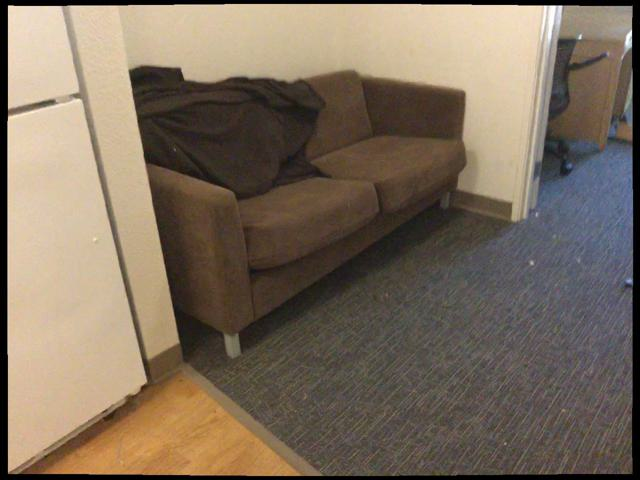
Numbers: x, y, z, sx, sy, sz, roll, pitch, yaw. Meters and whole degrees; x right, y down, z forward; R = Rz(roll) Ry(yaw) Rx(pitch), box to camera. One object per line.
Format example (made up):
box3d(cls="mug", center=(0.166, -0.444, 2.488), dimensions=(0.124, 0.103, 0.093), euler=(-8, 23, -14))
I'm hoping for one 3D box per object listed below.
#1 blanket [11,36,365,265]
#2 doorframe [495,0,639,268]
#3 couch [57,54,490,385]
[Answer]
box3d(cls="blanket", center=(-0.449, -0.481, 2.480), dimensions=(0.560, 0.521, 1.359), euler=(22, 37, 37))
box3d(cls="doorframe", center=(1.427, -0.501, 2.500), dimensions=(1.149, 1.202, 0.300), euler=(23, 37, 37))
box3d(cls="couch", center=(-0.090, -0.281, 2.680), dimensions=(0.929, 0.751, 1.709), euler=(22, 37, 37))
